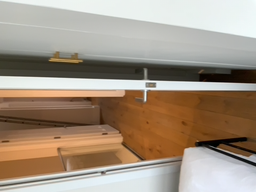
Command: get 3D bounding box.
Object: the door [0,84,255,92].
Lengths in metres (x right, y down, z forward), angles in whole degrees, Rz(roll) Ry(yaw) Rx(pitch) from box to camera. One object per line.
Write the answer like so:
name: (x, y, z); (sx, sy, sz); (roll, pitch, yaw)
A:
door: (-0.160, -0.040, 1.290); (0.770, 1.980, 0.020); (-178, 88, -67)
